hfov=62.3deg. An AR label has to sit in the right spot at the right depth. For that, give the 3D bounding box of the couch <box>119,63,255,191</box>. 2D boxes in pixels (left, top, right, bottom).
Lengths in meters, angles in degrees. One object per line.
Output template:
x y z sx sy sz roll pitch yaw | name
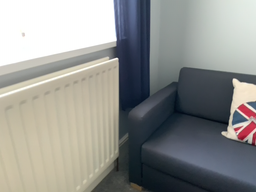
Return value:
0.760 0.310 1.200 1.420 0.680 0.750 12 26 28 | couch
